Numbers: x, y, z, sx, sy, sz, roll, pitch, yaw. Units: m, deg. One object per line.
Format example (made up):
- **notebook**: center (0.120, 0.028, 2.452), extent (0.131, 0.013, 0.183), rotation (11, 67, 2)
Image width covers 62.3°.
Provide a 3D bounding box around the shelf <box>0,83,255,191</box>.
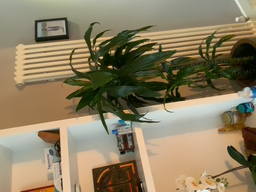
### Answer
- **shelf**: center (-0.220, 0.460, 1.130), extent (0.310, 2.110, 0.730), rotation (98, 162, -64)
